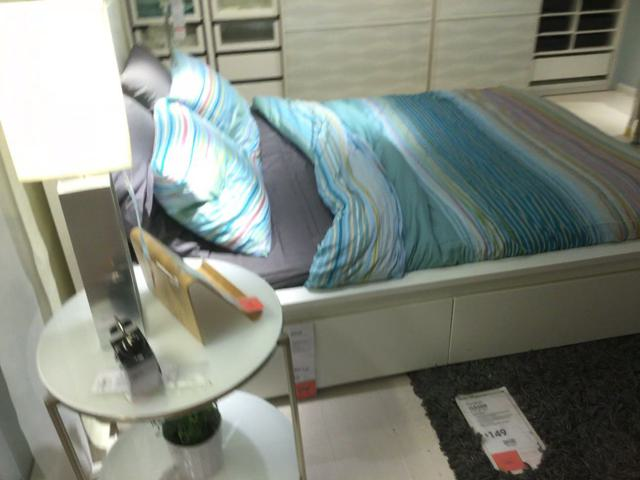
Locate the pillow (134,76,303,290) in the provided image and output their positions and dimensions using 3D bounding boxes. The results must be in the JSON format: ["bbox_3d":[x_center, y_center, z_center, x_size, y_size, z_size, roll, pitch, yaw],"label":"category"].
[{"bbox_3d":[-0.320,-0.220,1.950,0.220,0.470,0.650,-36,28,13],"label":"pillow"}]

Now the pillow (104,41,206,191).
[{"bbox_3d":[-0.660,-0.550,2.440,0.250,0.400,0.700,-9,30,-3],"label":"pillow"}]

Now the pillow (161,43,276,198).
[{"bbox_3d":[-0.420,-0.540,2.490,0.190,0.430,0.710,-36,28,13],"label":"pillow"}]

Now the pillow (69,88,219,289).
[{"bbox_3d":[-0.520,-0.210,1.880,0.300,0.340,0.730,-9,30,-3],"label":"pillow"}]

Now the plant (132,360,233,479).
[{"bbox_3d":[-0.310,0.450,1.360,0.170,0.240,0.190,-9,30,-3],"label":"plant"}]
